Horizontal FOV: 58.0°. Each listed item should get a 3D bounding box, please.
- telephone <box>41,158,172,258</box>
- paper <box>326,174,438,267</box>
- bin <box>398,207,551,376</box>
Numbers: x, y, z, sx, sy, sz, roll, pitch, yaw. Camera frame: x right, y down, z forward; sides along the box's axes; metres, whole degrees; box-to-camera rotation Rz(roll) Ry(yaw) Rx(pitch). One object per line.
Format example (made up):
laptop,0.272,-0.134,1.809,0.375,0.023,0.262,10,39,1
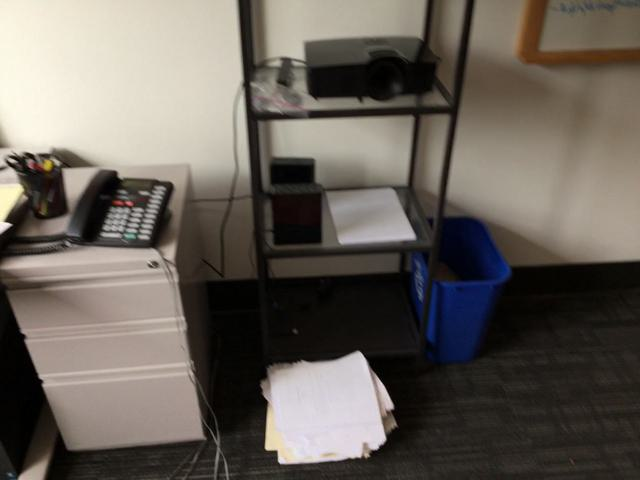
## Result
telephone,-0.480,-0.080,1.340,0.220,0.120,0.220,-5,33,-2
paper,0.170,-0.070,1.720,0.270,0.080,0.360,-5,33,-2
bin,0.470,0.160,1.880,0.360,0.380,0.350,-5,33,-2
